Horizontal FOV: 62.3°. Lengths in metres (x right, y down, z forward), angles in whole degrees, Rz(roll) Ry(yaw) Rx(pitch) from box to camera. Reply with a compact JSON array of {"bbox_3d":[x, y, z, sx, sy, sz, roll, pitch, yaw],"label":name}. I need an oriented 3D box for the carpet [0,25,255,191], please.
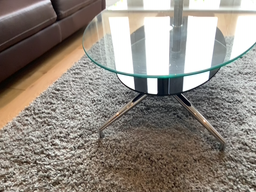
[{"bbox_3d":[0.110,-0.060,1.140,1.230,0.070,1.760,8,37,17],"label":"carpet"}]
